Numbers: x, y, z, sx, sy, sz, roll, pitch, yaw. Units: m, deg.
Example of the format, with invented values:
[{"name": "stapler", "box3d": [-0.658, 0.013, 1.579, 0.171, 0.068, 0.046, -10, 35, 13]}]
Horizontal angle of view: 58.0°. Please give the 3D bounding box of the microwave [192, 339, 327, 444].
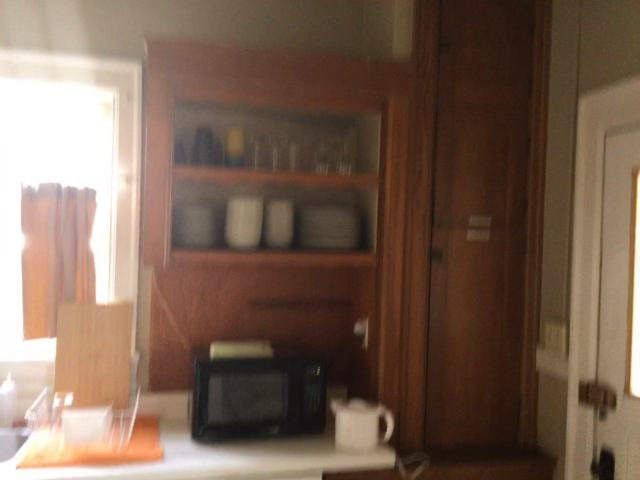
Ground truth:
[{"name": "microwave", "box3d": [-0.250, 0.570, 2.260, 0.460, 0.310, 0.400, 3, -3, -14]}]
